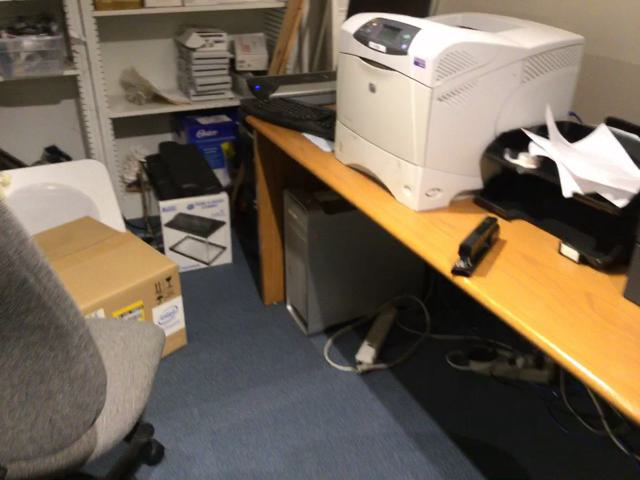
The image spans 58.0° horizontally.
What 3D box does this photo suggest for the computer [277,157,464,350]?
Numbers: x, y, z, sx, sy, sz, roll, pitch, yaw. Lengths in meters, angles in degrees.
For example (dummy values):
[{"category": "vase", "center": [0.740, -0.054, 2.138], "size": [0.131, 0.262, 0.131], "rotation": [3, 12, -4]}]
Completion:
[{"category": "computer", "center": [0.170, 0.030, 2.090], "size": [0.550, 0.510, 0.320], "rotation": [-12, 29, -22]}]
